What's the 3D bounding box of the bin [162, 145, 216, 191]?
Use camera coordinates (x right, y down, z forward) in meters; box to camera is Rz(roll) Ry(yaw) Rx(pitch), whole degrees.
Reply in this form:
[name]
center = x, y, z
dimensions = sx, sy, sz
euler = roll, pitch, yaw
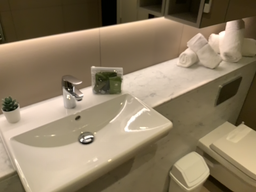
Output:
[bin]
center = 0.400, 0.570, 1.450
dimensions = 0.270, 0.370, 0.160
euler = -20, 40, -31
